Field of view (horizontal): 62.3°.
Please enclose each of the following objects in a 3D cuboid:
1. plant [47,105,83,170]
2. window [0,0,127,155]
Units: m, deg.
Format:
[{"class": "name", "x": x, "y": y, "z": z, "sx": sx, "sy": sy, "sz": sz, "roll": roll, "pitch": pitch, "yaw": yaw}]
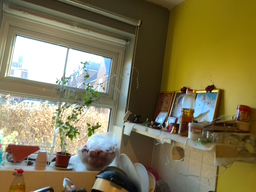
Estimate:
[{"class": "plant", "x": -0.410, "y": 0.260, "z": 1.370, "sx": 0.150, "sy": 0.380, "sz": 0.160, "roll": 9, "pitch": -5, "yaw": -24}, {"class": "window", "x": -0.470, "y": -0.120, "z": 1.490, "sx": 0.850, "sy": 1.000, "sz": 0.090, "roll": 9, "pitch": -5, "yaw": -24}]
